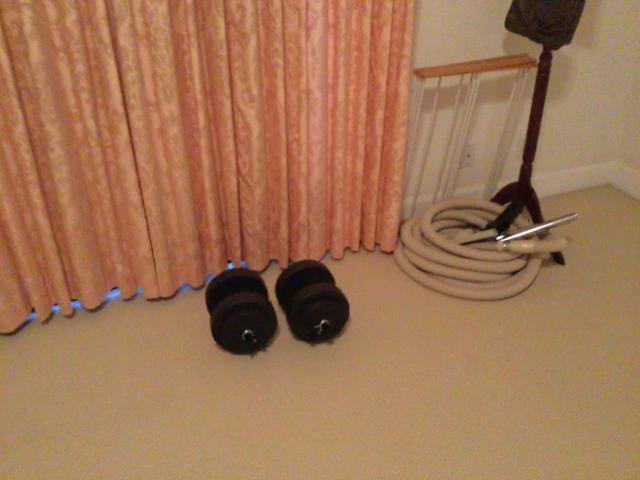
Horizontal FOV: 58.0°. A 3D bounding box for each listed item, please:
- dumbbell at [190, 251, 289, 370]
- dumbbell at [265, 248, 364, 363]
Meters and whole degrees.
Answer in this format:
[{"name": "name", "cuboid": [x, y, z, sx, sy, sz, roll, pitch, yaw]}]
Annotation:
[{"name": "dumbbell", "cuboid": [-0.270, 0.220, 1.910, 0.220, 0.220, 0.310, -13, 28, -21]}, {"name": "dumbbell", "cuboid": [-0.020, 0.210, 1.930, 0.230, 0.230, 0.270, -13, 28, -21]}]
